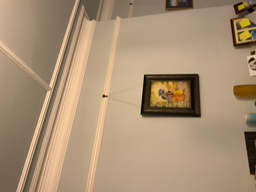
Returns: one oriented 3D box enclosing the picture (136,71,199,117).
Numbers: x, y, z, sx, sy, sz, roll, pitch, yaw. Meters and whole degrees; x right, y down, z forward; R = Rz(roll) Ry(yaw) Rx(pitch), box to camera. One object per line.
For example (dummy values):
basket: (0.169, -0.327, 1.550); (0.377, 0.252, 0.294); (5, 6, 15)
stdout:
picture: (0.350, -0.020, 1.910); (0.060, 0.530, 0.420); (62, -150, -59)
